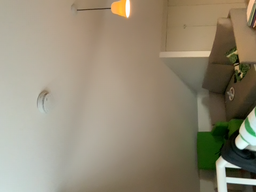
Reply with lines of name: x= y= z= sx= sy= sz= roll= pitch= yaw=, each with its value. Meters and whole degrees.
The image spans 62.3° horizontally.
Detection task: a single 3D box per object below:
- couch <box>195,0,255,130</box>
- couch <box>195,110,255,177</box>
couch: x=1.520 y=-0.290 z=3.090 sx=1.850 sy=0.780 sz=0.900 roll=74 pitch=-160 yaw=-58
couch: x=1.500 y=0.740 z=3.220 sx=0.870 sy=0.800 sz=0.720 roll=74 pitch=-160 yaw=-59
